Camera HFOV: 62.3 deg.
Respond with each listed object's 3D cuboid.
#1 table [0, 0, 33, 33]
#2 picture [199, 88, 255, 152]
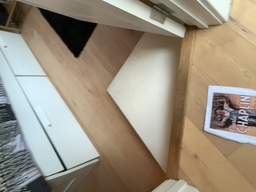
[{"bbox_3d":[-1.300,-0.950,2.140,0.380,0.410,0.380,50,118,23],"label":"table"},{"bbox_3d":[0.420,0.090,0.820,0.270,0.010,0.220,6,96,35],"label":"picture"}]
